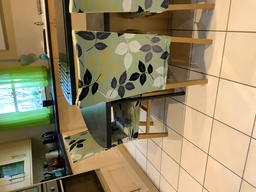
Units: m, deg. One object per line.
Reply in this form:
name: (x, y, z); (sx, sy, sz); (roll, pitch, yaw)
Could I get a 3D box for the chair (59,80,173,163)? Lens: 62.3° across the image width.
chair: (-0.110, 0.180, 1.990); (0.420, 0.930, 0.490); (-145, 51, -59)

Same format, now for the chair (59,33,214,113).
chair: (0.050, -0.230, 1.510); (0.500, 0.930, 0.410); (-148, 54, -60)

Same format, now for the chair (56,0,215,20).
chair: (0.040, -0.730, 1.380); (0.500, 0.930, 0.410); (-148, 54, -60)
